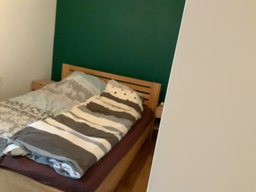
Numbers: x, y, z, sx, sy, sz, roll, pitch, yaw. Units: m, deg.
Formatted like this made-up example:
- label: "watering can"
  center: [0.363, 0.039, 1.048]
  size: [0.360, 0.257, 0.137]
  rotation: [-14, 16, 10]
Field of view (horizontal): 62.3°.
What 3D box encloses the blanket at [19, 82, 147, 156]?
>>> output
- label: "blanket"
  center: [-0.320, 0.120, 2.320]
  size: [0.680, 0.220, 1.510]
  rotation: [14, 15, 16]
